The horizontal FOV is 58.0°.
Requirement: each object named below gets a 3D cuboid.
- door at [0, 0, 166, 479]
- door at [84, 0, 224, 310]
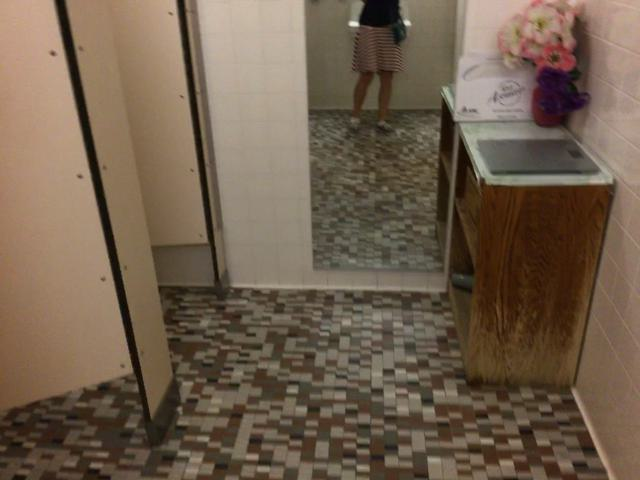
[{"bbox_3d":[-0.730,0.020,1.330,0.500,1.380,0.130,-11,27,-16],"label":"door"},{"bbox_3d":[-0.590,-0.350,2.140,0.290,1.330,0.130,-3,26,0],"label":"door"}]
